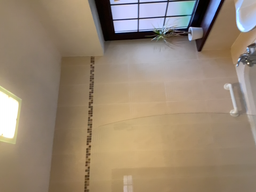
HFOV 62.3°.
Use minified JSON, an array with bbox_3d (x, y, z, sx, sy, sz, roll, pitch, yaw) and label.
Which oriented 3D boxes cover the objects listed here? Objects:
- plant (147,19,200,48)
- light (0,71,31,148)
[{"bbox_3d":[0.490,-0.690,2.360,0.240,0.530,0.170,85,3,-65],"label":"plant"},{"bbox_3d":[-0.760,0.090,1.330,0.310,0.070,0.370,-91,178,-46],"label":"light"}]
